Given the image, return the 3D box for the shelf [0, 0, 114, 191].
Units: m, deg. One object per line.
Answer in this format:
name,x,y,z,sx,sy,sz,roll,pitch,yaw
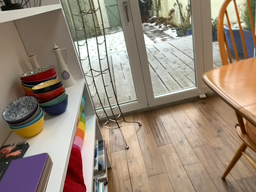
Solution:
shelf,-0.330,0.030,0.230,0.260,2.030,2.140,-13,26,-1
